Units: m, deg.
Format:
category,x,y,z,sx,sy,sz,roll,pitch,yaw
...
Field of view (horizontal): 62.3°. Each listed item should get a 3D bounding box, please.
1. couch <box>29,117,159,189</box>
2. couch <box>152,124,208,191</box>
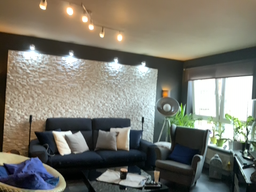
category,x,y,z,sx,sy,sz,roll,pitch,yaw
couch,-0.680,1.000,4.290,2.350,1.010,1.030,4,0,-26
couch,0.970,1.090,3.870,0.670,1.010,0.930,3,0,33
